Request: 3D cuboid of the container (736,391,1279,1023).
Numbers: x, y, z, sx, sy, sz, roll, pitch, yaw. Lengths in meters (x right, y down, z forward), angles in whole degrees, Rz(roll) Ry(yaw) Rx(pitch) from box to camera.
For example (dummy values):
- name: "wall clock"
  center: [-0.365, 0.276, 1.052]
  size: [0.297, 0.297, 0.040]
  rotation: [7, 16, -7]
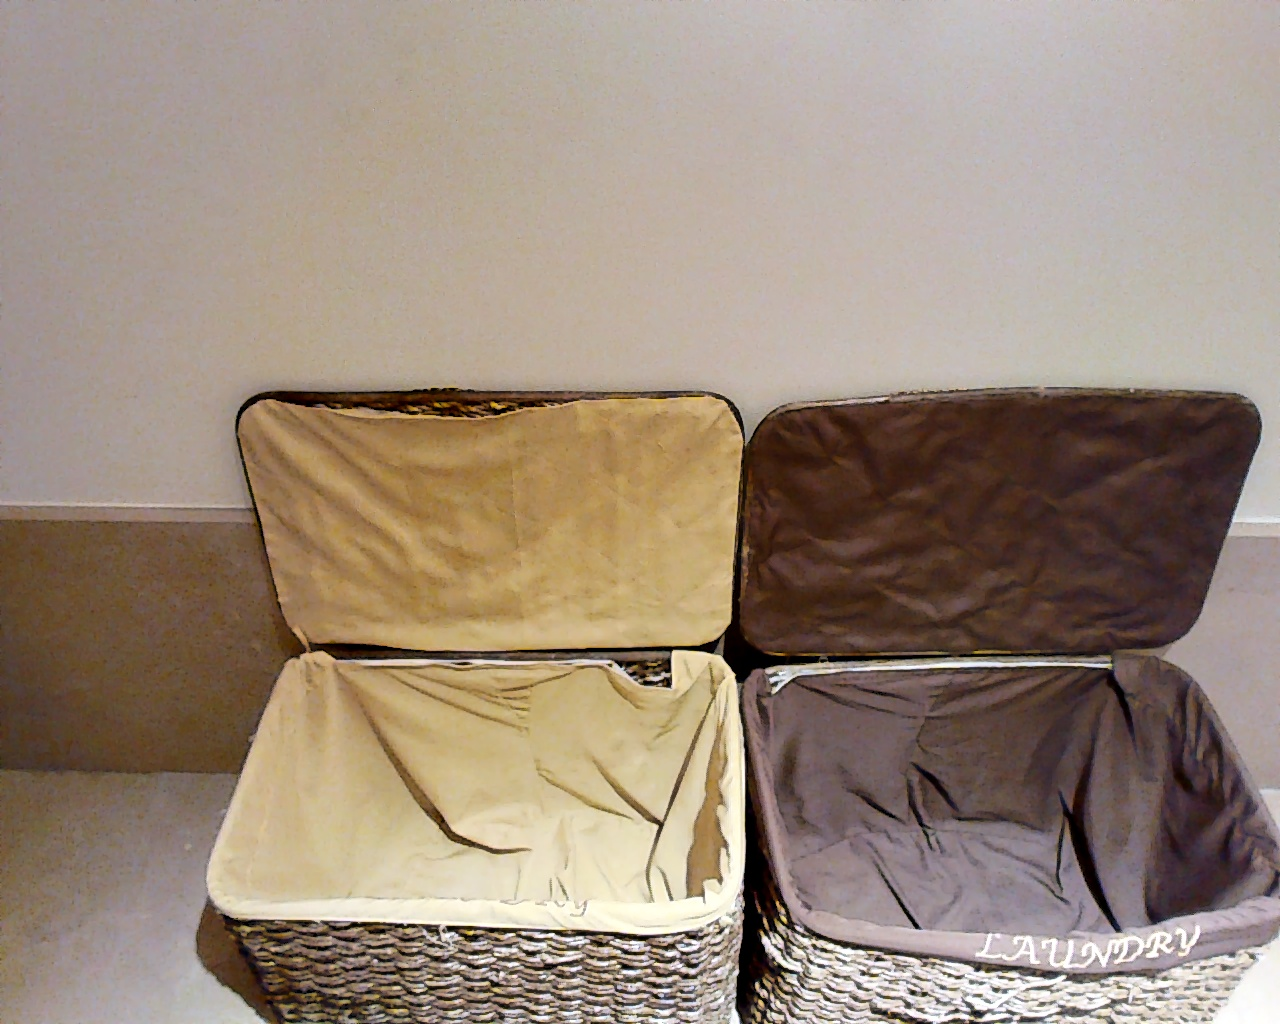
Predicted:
- name: "container"
  center: [0.510, 0.330, 1.450]
  size: [0.700, 0.820, 0.510]
  rotation: [2, 42, 2]

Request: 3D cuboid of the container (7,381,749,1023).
- name: "container"
  center: [-0.240, 0.310, 1.470]
  size: [0.710, 0.830, 0.470]
  rotation: [2, 42, 2]
